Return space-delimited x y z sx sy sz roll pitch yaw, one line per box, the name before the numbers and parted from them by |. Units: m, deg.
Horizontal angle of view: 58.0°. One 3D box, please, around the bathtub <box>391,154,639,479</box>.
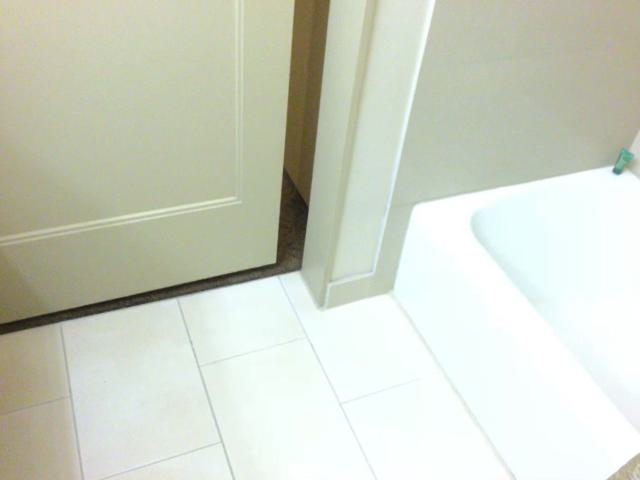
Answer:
bathtub | 0.830 0.420 1.230 0.730 0.380 1.430 -12 45 -19
